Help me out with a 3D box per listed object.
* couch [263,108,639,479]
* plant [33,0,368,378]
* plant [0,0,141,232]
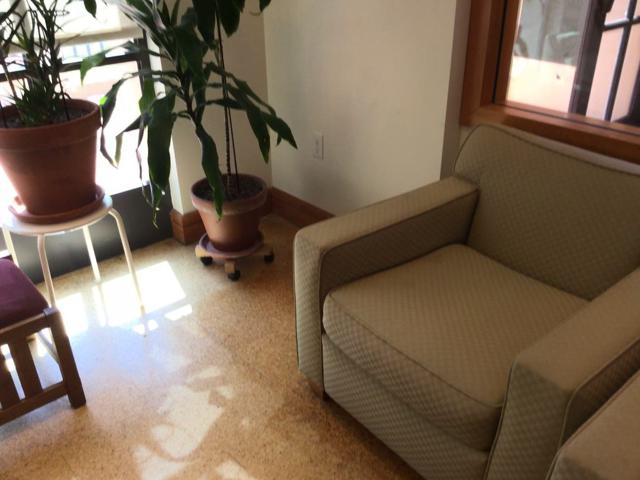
[{"bbox_3d":[0.490,0.180,1.590,0.890,0.780,0.930,-19,31,-32],"label":"couch"},{"bbox_3d":[-0.420,-0.590,1.970,0.670,1.720,0.960,-22,34,-36],"label":"plant"},{"bbox_3d":[-0.960,-0.600,1.840,0.390,0.940,0.600,-22,34,-36],"label":"plant"}]
